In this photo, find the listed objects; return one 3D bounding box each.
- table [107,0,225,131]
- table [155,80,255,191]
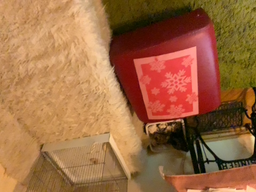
[{"bbox_3d":[0.240,-0.160,1.270,0.520,0.360,0.570,-14,129,13],"label":"table"},{"bbox_3d":[0.680,0.360,1.470,0.840,0.730,0.490,-11,130,11],"label":"table"}]
